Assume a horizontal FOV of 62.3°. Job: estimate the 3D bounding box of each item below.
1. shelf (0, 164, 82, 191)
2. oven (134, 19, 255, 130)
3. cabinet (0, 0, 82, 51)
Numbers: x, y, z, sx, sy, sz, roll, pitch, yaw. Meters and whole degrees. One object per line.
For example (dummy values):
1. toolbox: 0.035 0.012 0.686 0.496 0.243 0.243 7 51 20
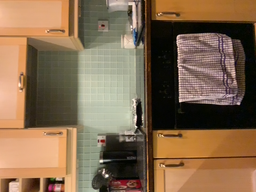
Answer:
1. shelf: -0.760 0.590 1.470 0.310 0.820 0.140 126 144 -84
2. oven: 0.380 -0.100 1.450 0.600 0.620 0.600 126 144 -84
3. cabinet: -0.770 -0.530 1.550 0.330 0.810 0.310 126 144 -84
